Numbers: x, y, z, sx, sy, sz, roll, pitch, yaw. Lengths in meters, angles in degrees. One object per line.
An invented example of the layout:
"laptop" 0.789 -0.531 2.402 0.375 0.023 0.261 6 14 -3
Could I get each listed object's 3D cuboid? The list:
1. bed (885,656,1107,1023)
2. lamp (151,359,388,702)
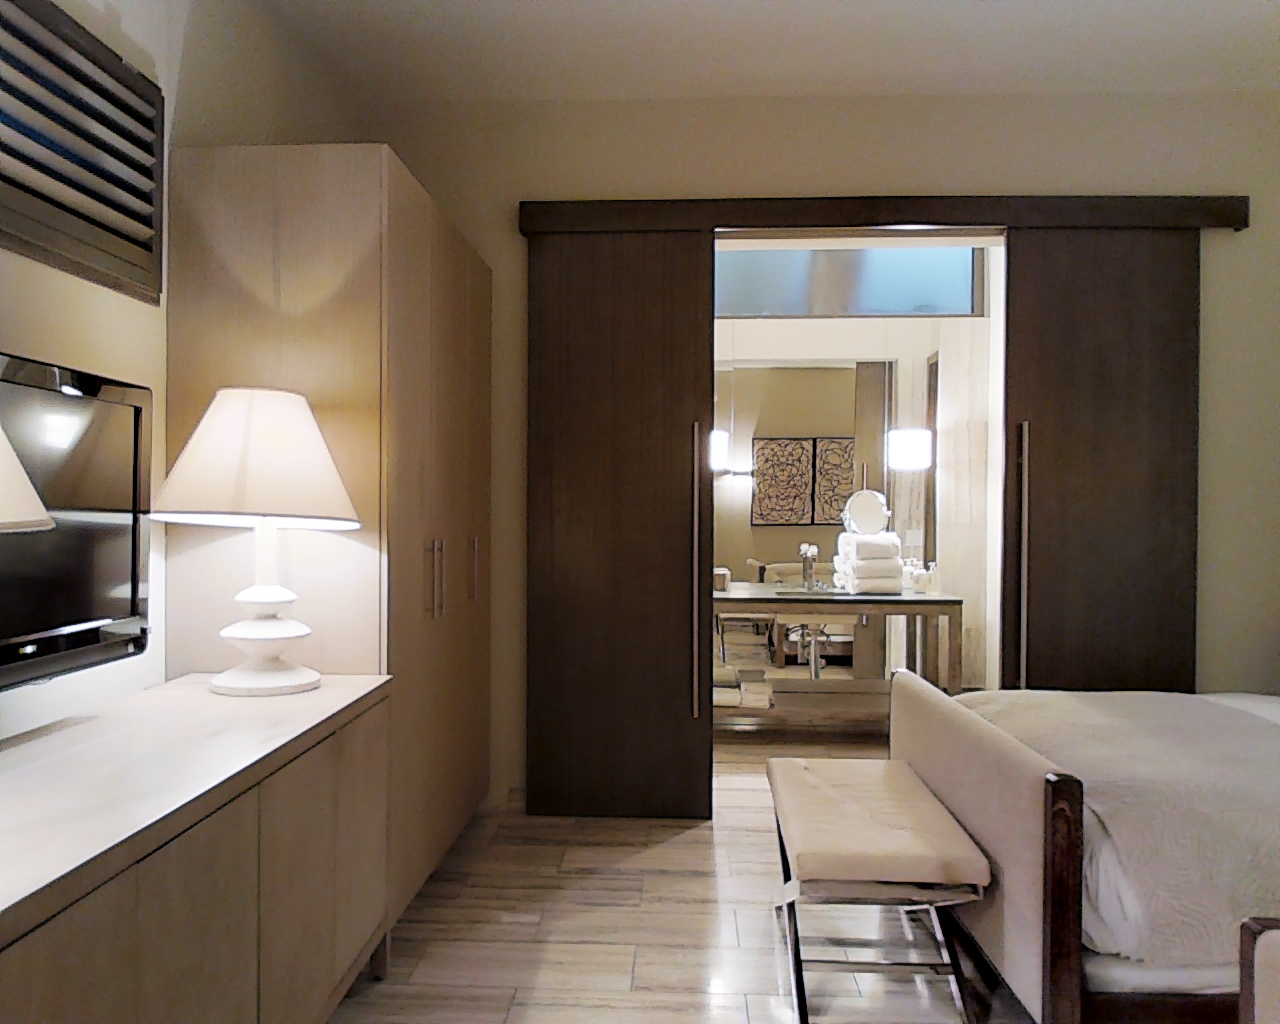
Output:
"bed" 0.950 0.910 3.140 0.140 0.730 1.710 0 1 2
"lamp" -0.910 0.040 2.710 0.430 0.790 0.440 0 1 3
